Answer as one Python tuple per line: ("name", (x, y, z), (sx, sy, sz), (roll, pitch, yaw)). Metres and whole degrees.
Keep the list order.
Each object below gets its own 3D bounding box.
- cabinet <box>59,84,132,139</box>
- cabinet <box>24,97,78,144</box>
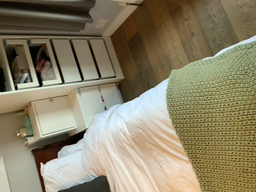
("cabinet", (-0.370, 0.170, 2.340), (0.510, 0.530, 0.390), (-31, 74, 49))
("cabinet", (-0.780, 0.240, 2.140), (0.310, 0.370, 0.330), (-31, 74, 49))
